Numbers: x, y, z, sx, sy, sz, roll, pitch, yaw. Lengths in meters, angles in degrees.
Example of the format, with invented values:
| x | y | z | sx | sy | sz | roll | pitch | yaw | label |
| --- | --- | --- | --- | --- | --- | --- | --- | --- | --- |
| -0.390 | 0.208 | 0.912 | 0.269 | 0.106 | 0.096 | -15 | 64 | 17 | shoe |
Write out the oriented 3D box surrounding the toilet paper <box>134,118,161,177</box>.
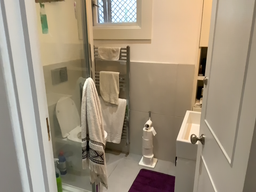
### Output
| x | y | z | sx | sy | sz | roll | pitch | yaw | label |
| --- | --- | --- | --- | --- | --- | --- | --- | --- | --- |
| 0.220 | 0.580 | 2.420 | 0.220 | 0.570 | 0.260 | 8 | 19 | 22 | toilet paper |
